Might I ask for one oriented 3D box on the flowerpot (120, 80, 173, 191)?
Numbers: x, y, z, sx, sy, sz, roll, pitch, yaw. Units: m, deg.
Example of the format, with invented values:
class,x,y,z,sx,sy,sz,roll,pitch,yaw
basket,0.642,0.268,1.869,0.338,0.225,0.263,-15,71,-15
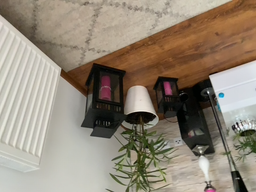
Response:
class,x,y,z,sx,sy,sz,roll,pitch,yaw
flowerpot,0.090,0.460,1.570,0.270,1.020,0.570,0,144,-3
